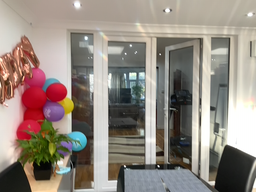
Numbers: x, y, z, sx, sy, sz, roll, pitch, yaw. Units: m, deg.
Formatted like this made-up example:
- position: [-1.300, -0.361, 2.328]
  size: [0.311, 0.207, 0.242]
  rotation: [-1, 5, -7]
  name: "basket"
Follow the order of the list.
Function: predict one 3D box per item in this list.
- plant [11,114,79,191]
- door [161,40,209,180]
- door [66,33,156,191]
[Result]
- position: [-0.640, 0.430, 1.760]
  size: [0.430, 0.490, 0.510]
  rotation: [0, 3, -10]
  name: "plant"
- position: [0.890, 0.200, 3.490]
  size: [0.100, 2.050, 0.910]
  rotation: [-2, 3, -32]
  name: "door"
- position: [-0.220, 0.280, 2.980]
  size: [1.220, 2.220, 0.100]
  rotation: [0, 3, -10]
  name: "door"
